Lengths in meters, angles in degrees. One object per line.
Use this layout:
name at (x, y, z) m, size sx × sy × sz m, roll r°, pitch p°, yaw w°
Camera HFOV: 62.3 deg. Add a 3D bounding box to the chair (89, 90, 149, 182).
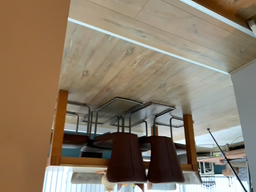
chair at (-0.120, 0.510, 2.500) m, size 0.440 × 0.930 × 0.630 m, roll 11°, pitch 155°, yaw -24°
